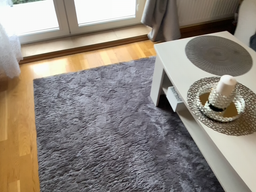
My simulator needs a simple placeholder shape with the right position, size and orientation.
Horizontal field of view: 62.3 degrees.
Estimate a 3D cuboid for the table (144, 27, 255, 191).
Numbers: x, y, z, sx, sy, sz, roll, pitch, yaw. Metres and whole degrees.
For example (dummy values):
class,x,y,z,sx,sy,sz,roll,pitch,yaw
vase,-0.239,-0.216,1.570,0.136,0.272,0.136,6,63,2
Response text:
class,x,y,z,sx,sy,sz,roll,pitch,yaw
table,0.610,0.150,1.280,0.640,0.540,1.070,-14,51,-13
